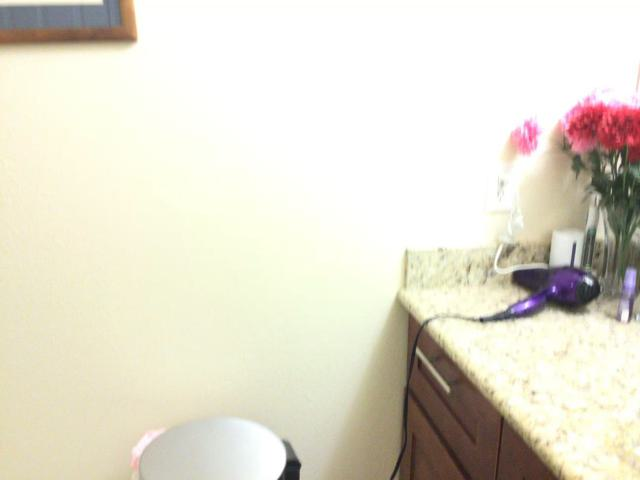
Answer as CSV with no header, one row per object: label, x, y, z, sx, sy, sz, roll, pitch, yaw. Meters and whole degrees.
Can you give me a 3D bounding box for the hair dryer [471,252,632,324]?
hair dryer,0.500,0.100,1.280,0.250,0.090,0.210,0,15,-10
